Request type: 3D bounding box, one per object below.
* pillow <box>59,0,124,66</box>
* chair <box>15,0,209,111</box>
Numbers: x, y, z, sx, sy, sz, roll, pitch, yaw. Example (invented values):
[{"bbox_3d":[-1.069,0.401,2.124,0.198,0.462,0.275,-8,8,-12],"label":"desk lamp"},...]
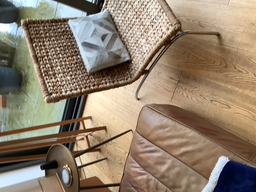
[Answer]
[{"bbox_3d":[-0.210,-0.390,1.350,0.080,0.300,0.410,-37,95,15],"label":"pillow"},{"bbox_3d":[-0.120,-0.400,1.320,0.730,0.740,0.660,-42,64,33],"label":"chair"}]
